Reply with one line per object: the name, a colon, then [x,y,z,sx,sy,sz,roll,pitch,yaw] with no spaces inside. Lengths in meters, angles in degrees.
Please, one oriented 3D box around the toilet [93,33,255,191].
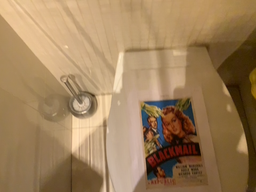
toilet: [0.110,0.140,0.770,0.390,0.440,0.530,-3,71,1]
